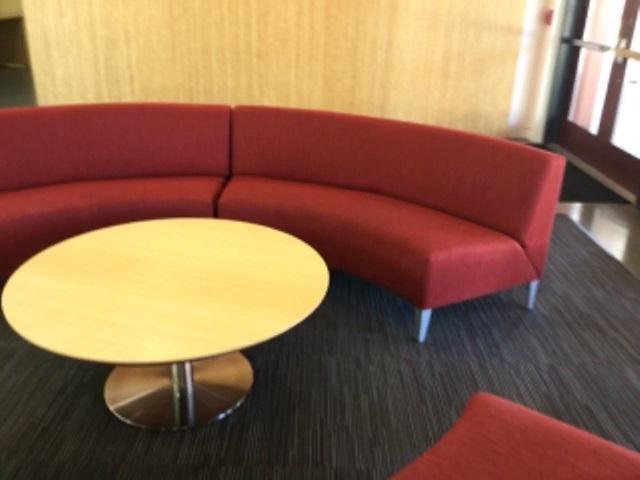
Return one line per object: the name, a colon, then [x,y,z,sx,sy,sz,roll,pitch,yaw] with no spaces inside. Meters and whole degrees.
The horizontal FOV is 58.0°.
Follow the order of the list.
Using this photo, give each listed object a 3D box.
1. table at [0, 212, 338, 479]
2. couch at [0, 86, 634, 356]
table: [-0.500,0.320,2.100,0.990,0.490,1.030,-1,24,-6]
couch: [-0.410,-0.200,2.820,3.040,0.800,1.330,1,24,0]
